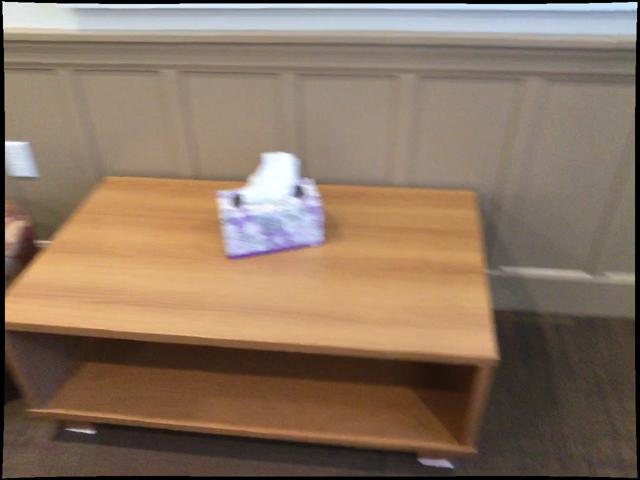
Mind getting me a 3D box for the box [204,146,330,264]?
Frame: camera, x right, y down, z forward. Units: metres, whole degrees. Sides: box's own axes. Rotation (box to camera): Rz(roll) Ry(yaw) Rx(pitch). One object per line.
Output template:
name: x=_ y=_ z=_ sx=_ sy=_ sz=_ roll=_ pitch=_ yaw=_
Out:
box: x=-0.130 y=-0.090 z=1.410 sx=0.269 sy=0.170 sz=0.190 roll=-10 pitch=39 yaw=-8
